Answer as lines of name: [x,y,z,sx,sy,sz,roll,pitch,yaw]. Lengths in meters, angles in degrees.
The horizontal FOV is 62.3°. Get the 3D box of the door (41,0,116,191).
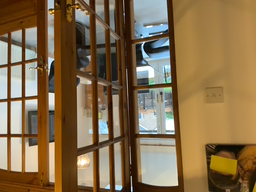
door: [-0.230,-0.320,1.190,0.100,2.200,0.770,-3,176,8]
